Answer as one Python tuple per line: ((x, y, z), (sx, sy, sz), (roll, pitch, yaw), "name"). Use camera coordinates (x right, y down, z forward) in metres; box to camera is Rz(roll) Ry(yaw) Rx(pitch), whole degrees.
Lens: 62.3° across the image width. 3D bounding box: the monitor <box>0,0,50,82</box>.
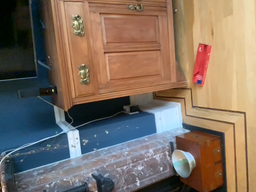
((-0.780, -0.530, 1.140), (0.050, 0.610, 0.950), (37, 129, 51), "monitor")
